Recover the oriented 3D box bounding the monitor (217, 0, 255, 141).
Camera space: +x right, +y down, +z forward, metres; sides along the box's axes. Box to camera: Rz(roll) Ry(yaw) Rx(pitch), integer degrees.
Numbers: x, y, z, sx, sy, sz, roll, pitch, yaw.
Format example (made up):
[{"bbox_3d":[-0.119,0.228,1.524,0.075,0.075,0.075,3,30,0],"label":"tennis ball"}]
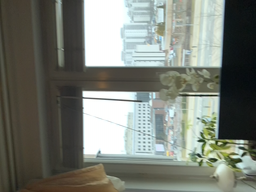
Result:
[{"bbox_3d":[0.700,-0.150,1.020,0.060,0.490,0.740,-51,-40,-81],"label":"monitor"}]
